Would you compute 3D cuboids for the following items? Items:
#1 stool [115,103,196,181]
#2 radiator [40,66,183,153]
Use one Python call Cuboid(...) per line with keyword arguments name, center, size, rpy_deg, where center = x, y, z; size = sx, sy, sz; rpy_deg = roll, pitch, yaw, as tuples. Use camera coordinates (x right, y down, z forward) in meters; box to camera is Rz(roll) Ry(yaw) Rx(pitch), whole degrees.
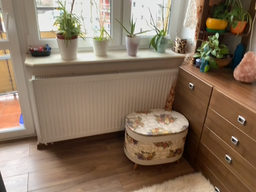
Cuboid(name="stool", center=(0.210, 0.380, 1.920), size=(0.530, 0.410, 0.470), rpy_deg=(-7, 28, -19))
Cuboid(name="radiator", center=(-0.130, 0.100, 2.000), size=(1.220, 0.660, 0.230), rpy_deg=(-6, 28, -18))
